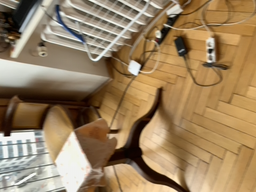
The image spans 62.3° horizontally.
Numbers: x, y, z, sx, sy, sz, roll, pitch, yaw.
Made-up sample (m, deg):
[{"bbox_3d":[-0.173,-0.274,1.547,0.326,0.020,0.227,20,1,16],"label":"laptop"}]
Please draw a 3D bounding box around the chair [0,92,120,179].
[{"bbox_3d":[-0.570,0.290,1.810,0.500,0.780,0.400,38,112,38],"label":"chair"}]
